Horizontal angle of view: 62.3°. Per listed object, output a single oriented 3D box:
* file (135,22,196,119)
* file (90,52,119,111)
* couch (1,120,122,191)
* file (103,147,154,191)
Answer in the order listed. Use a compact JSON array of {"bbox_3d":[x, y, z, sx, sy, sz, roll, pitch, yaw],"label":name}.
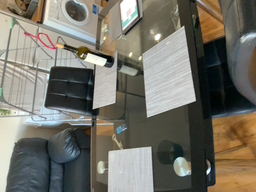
[{"bbox_3d":[0.140,-0.100,0.920,0.280,0.020,0.340,-27,58,46],"label":"file"},{"bbox_3d":[-0.150,-0.080,1.320,0.280,0.020,0.310,-19,64,49],"label":"file"},{"bbox_3d":[-0.740,1.140,2.210,1.050,0.900,1.520,-22,62,48],"label":"couch"},{"bbox_3d":[-0.010,0.380,0.980,0.330,0.030,0.260,-21,63,48],"label":"file"}]
